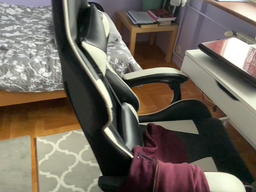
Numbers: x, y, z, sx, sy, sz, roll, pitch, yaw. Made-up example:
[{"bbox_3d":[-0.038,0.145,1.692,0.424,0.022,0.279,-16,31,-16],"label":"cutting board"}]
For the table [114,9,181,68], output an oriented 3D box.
[{"bbox_3d":[0.190,-0.720,2.570,0.560,0.470,0.590,-8,41,-18],"label":"table"}]
